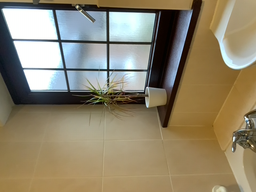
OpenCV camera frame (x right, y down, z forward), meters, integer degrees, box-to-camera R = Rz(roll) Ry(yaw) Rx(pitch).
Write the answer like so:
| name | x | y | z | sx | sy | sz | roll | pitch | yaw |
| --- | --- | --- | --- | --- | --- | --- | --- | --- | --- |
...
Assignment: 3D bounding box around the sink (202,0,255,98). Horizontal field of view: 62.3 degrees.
| name | x | y | z | sx | sy | sz | roll | pitch | yaw |
| --- | --- | --- | --- | --- | --- | --- | --- | --- | --- |
| sink | 0.480 | -0.340 | 0.700 | 0.550 | 0.180 | 0.430 | 96 | 174 | -45 |
